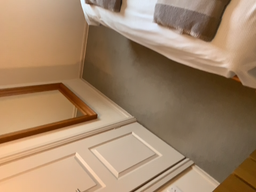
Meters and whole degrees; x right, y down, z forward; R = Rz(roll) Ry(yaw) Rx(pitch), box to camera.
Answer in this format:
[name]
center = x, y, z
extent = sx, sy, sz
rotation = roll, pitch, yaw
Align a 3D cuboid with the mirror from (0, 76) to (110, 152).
[mirror]
center = -1.150, 0.130, 1.800
extent = 0.930, 1.830, 0.070
rotation = 37, 123, 36
